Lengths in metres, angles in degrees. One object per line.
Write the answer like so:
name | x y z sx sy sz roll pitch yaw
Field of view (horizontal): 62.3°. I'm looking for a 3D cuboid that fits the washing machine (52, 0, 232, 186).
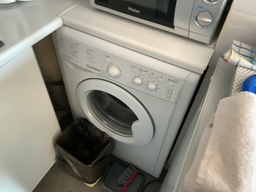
washing machine | 0.050 -0.010 1.100 0.540 0.820 0.430 25 51 17
